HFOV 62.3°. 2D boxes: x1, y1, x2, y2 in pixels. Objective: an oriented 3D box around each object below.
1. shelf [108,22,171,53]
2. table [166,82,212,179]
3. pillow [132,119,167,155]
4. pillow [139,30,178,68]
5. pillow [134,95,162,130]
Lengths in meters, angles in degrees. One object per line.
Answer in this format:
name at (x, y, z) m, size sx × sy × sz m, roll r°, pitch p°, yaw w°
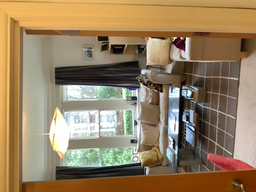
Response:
shelf at (0.230, -1.380, 5.140) m, size 0.810 × 1.380 × 0.440 m, roll 147°, pitch 122°, yaw -81°
table at (0.960, 0.530, 3.450) m, size 0.510 × 0.460 × 1.450 m, roll -129°, pitch 39°, yaw -77°
pillow at (0.470, 0.890, 4.630) m, size 0.570 × 0.500 × 0.220 m, roll 55°, pitch 171°, yaw -19°
pillow at (0.550, -0.840, 3.830) m, size 0.470 × 0.460 × 0.230 m, roll 47°, pitch 172°, yaw -19°
pillow at (0.440, 0.360, 4.540) m, size 0.200 × 0.470 × 0.620 m, roll -120°, pitch 13°, yaw -51°
